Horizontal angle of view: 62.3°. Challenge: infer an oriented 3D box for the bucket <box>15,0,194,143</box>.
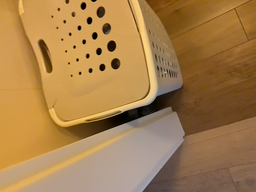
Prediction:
[{"bbox_3d":[-0.020,-0.160,0.810,0.320,0.580,0.480,-19,85,24],"label":"bucket"}]
